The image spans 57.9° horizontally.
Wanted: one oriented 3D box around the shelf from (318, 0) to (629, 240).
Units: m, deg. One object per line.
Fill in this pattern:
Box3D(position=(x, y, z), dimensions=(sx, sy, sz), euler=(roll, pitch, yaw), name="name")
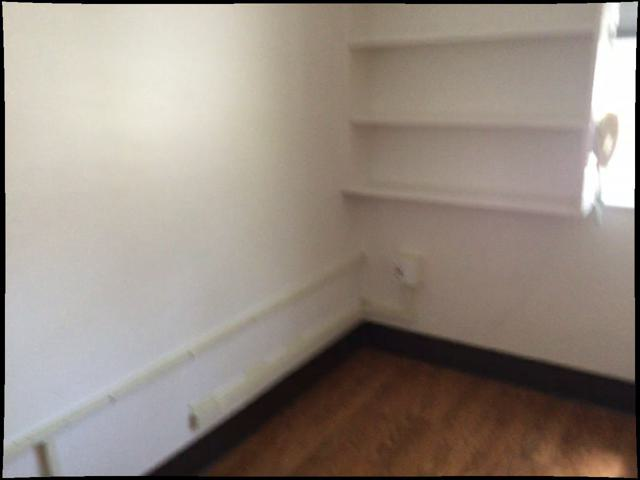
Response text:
Box3D(position=(0.519, -0.901, 2.110), dimensions=(1.069, 1.631, 0.300), euler=(11, 24, 32), name="shelf")
